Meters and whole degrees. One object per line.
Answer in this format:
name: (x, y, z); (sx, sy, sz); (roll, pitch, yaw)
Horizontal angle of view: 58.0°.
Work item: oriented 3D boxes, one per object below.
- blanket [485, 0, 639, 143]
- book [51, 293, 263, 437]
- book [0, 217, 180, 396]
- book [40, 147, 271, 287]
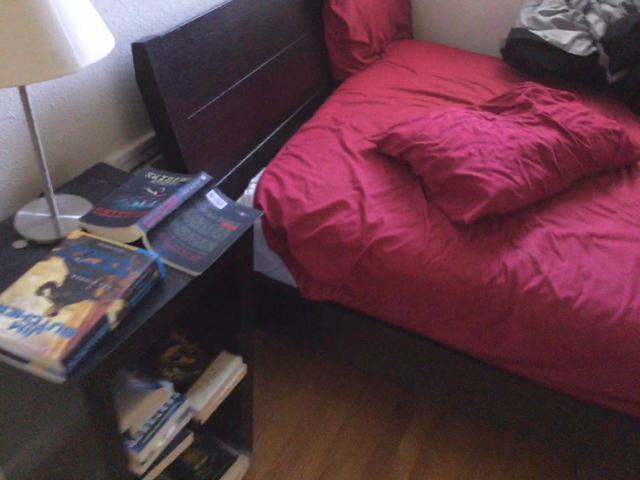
blanket: (1.050, -0.640, 1.920); (0.810, 0.450, 0.480); (17, 38, 20)
book: (-0.370, 0.270, 1.320); (0.440, 0.070, 0.190); (17, 38, 20)
book: (-0.390, 0.090, 0.920); (0.200, 0.090, 0.260); (17, 38, 20)
book: (-0.310, -0.060, 1.120); (0.360, 0.080, 0.230); (17, 38, 20)
